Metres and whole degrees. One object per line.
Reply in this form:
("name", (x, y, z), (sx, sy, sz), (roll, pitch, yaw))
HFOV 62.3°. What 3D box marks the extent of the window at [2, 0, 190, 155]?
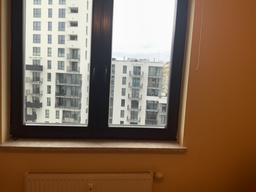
("window", (-0.250, -0.270, 1.780), (1.430, 1.500, 0.180), (3, 7, -8))
